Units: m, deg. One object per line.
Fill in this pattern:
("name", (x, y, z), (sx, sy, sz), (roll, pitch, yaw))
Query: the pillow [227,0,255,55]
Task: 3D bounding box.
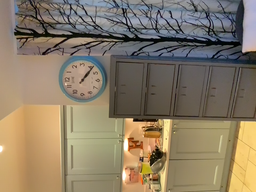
("pillow", (0.720, -0.450, 1.210), (0.120, 0.210, 0.420), (-3, -79, -25))
